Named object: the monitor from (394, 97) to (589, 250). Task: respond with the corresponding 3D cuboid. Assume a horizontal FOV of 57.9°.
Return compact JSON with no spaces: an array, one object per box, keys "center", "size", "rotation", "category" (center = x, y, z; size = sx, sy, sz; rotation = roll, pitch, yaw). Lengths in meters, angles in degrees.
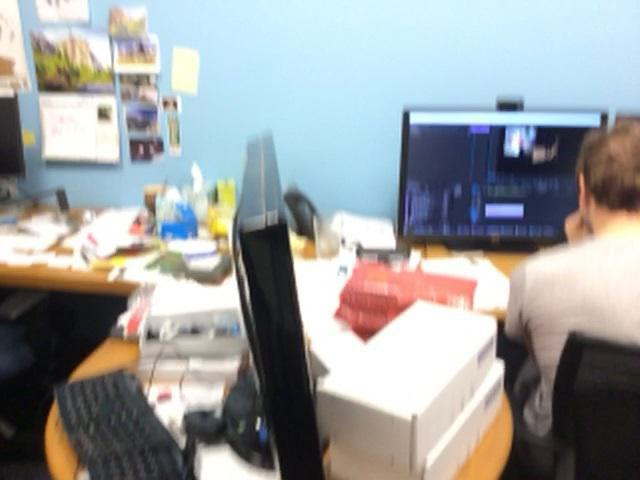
[{"center":[0.540,-0.220,1.910],"size":[0.550,0.470,0.180],"rotation":[0,20,0],"category":"monitor"}]
